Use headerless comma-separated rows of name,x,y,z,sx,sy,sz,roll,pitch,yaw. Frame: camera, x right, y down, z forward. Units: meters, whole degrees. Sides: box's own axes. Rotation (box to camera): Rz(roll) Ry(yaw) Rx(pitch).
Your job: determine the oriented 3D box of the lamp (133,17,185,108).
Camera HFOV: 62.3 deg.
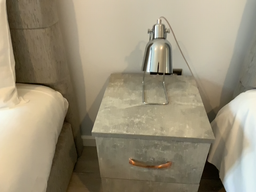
lamp,0.110,-0.140,0.850,0.160,0.280,0.240,2,35,4
